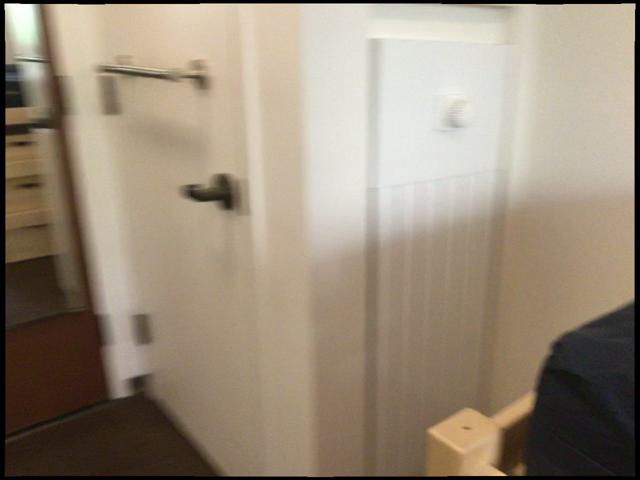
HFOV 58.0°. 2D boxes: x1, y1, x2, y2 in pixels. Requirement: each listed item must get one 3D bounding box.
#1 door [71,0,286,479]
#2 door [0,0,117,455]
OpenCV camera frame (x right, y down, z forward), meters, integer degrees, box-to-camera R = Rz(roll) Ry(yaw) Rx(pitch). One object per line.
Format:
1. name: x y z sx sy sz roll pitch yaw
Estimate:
1. door: -0.429 0.040 1.680 0.090 1.443 0.969 -15 23 -35
2. door: -1.148 -0.170 1.650 0.869 1.883 0.070 -15 23 -35
